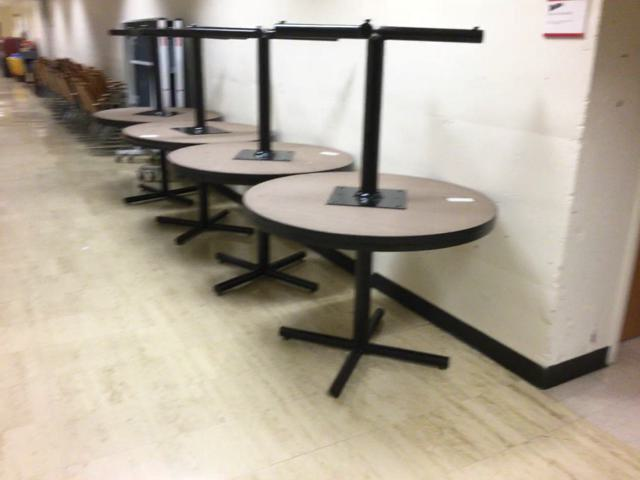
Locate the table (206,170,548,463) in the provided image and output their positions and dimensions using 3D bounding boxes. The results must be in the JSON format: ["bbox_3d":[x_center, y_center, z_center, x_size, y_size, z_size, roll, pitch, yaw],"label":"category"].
[{"bbox_3d":[0.160,0.200,2.550,1.060,0.780,1.050,-6,19,-23],"label":"table"}]
